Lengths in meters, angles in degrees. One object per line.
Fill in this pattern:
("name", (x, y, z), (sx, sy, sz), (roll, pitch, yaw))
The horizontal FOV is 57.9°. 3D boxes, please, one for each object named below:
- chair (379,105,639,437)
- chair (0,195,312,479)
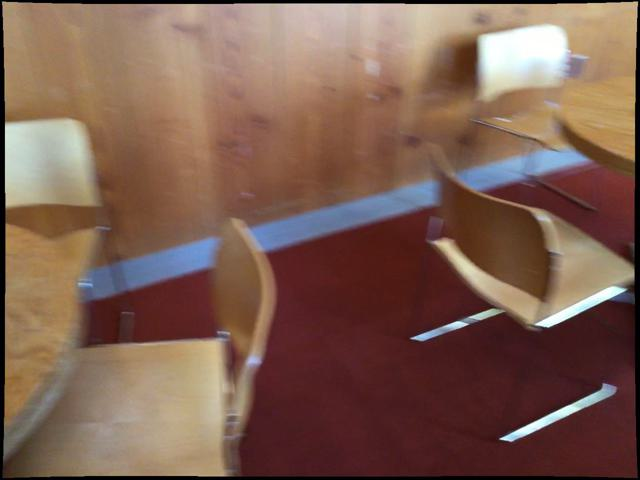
("chair", (0.569, 0.070, 1.700), (0.580, 0.700, 0.480), (-15, 39, -21))
("chair", (-0.370, 0.370, 1.250), (0.609, 0.700, 0.530), (-7, 36, -10))
